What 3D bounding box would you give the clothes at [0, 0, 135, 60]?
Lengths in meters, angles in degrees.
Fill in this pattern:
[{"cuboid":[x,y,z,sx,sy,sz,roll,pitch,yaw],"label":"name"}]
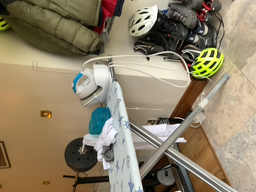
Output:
[{"cuboid":[-0.560,-0.710,1.400,0.630,1.080,0.820,-152,67,-70],"label":"clothes"}]
